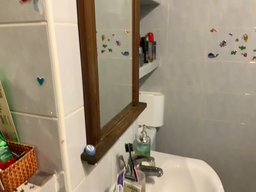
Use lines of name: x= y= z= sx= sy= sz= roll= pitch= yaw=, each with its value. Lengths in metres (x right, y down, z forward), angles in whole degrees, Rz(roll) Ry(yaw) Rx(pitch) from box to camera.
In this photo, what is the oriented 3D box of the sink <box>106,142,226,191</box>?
sink: x=0.150 y=0.410 z=0.820 sx=0.400 sy=0.160 sz=0.530 roll=6 pitch=18 yaw=21
